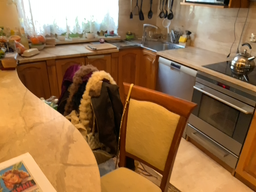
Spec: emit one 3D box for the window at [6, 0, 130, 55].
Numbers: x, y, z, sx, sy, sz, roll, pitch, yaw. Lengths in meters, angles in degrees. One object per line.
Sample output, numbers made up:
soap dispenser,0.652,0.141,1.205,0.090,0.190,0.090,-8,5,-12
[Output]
window,-0.610,-1.400,2.390,1.450,1.690,0.200,-15,31,-32
